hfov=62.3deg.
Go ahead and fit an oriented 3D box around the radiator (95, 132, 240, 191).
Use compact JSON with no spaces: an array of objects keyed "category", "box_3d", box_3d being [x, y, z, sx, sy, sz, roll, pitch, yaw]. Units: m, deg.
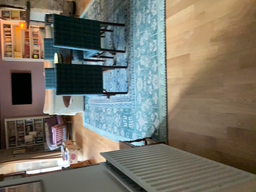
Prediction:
[{"category":"radiator","box_3d":[0.220,0.410,1.550,0.790,0.710,0.100,2,93,64]}]
